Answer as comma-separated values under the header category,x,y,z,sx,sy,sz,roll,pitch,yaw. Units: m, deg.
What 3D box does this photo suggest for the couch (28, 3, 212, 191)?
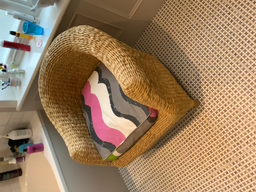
category,x,y,z,sx,sy,sz,roll,pitch,yaw
couch,-0.100,0.020,1.500,0.780,0.750,0.760,-50,58,31
